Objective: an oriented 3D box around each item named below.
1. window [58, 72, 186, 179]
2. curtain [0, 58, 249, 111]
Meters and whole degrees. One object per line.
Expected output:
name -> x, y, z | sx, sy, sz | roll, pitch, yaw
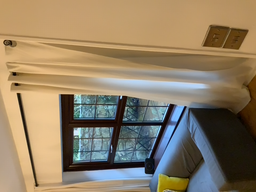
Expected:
window -> -0.200, 0.550, 3.100 | 0.250, 1.490, 1.920 | -105, 21, -47
curtain -> 0.070, -0.070, 2.150 | 0.140, 2.410, 0.450 | -107, 23, -51
